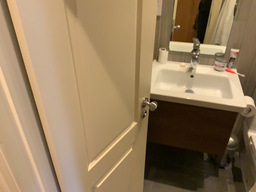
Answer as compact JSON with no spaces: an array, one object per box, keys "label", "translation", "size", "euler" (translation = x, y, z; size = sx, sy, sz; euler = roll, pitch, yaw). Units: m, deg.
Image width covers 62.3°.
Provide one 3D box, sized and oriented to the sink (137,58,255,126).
[{"label":"sink","translation":[0.440,-0.060,1.450],"size":[0.660,0.140,0.480],"euler":[9,35,12]}]
